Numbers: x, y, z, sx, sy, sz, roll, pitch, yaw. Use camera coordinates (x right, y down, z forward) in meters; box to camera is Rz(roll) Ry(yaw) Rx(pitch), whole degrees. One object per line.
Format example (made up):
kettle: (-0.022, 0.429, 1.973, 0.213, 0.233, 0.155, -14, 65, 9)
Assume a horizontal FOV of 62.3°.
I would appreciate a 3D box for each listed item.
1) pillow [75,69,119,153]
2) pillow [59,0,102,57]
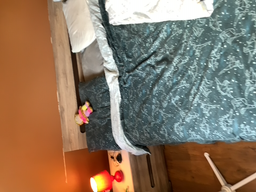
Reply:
pillow: (-0.310, 0.160, 1.960, 0.460, 0.130, 0.700, -21, 75, 55)
pillow: (-0.490, -0.770, 2.080, 0.510, 0.170, 0.600, -24, 73, 54)
